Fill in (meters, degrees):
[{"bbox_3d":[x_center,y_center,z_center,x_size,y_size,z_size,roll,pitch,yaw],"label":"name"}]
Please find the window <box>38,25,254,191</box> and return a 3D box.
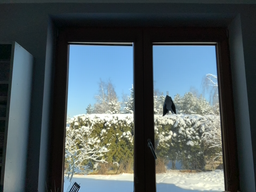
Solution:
[{"bbox_3d":[0.130,0.250,1.680,1.510,1.570,0.280,0,-8,-1],"label":"window"}]
